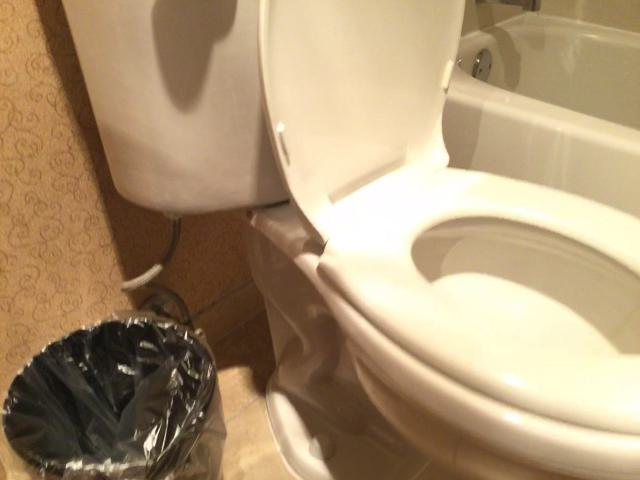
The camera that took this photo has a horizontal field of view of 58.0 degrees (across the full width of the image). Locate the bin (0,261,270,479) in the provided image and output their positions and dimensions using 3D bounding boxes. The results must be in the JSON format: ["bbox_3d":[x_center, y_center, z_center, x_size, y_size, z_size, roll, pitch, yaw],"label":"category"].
[{"bbox_3d":[-0.250,0.250,0.660,0.310,0.280,0.230,27,41,30],"label":"bin"}]

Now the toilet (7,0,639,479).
[{"bbox_3d":[0.120,-0.020,0.640,0.680,0.770,0.490,27,41,30],"label":"toilet"}]
